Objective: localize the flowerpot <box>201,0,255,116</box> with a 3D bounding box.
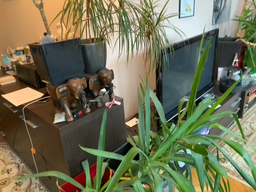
[{"bbox_3d":[1.710,-0.600,2.830,0.950,1.370,0.960,-24,31,-36],"label":"flowerpot"}]
